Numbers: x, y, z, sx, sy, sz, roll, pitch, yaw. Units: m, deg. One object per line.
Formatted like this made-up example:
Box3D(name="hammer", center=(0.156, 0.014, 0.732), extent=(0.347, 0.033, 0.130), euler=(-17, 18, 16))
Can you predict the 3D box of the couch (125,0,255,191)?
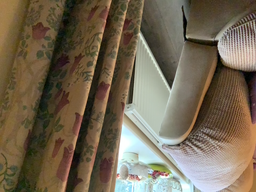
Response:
Box3D(name="couch", center=(0.870, 0.100, 1.490), extent=(0.960, 1.030, 1.810), euler=(-12, 144, 25))
